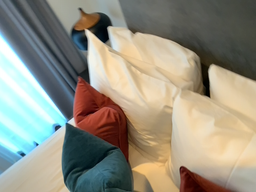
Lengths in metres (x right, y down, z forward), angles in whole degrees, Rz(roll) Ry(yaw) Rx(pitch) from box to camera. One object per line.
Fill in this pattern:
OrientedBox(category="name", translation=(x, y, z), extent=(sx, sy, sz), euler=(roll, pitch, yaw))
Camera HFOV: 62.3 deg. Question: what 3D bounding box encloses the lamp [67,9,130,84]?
OrientedBox(category="lamp", translation=(-0.200, -0.350, 1.530), extent=(0.170, 0.450, 0.270), euler=(-40, 47, -13))
